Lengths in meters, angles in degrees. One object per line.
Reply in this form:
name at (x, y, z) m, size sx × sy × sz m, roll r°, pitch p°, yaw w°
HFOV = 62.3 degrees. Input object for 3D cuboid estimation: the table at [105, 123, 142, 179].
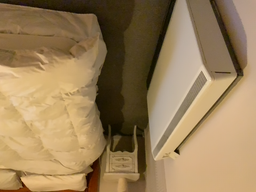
table at (-0.070, 0.720, 2.780) m, size 0.430 × 0.630 × 0.370 m, roll 2°, pitch 147°, yaw -4°
